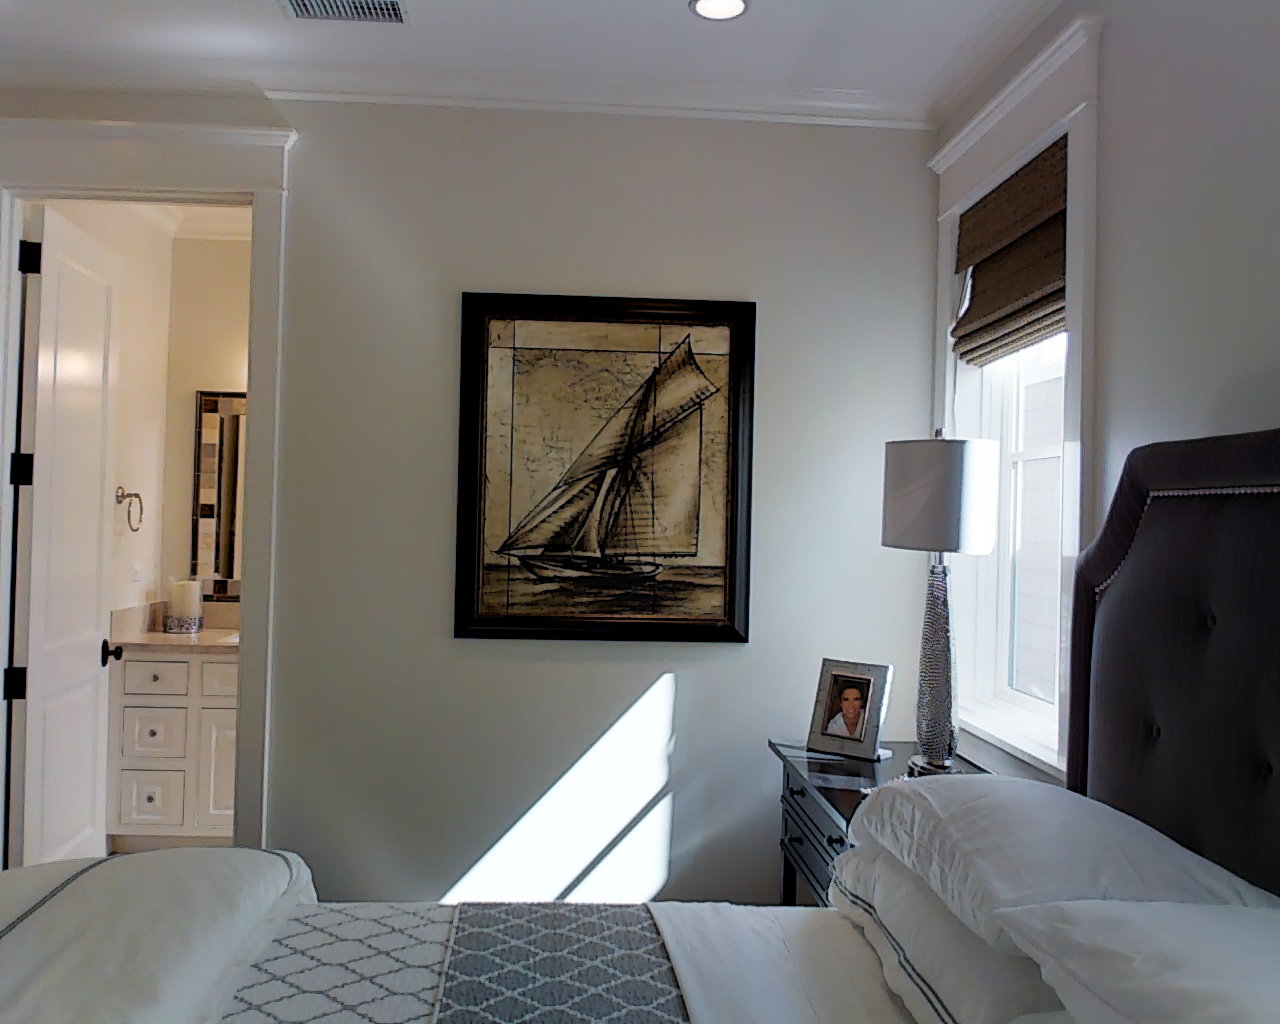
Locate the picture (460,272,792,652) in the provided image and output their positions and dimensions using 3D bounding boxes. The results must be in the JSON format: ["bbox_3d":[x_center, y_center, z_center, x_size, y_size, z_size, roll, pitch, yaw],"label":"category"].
[{"bbox_3d":[-0.040,-0.150,3.360,1.000,1.150,0.060,2,0,-3],"label":"picture"}]
